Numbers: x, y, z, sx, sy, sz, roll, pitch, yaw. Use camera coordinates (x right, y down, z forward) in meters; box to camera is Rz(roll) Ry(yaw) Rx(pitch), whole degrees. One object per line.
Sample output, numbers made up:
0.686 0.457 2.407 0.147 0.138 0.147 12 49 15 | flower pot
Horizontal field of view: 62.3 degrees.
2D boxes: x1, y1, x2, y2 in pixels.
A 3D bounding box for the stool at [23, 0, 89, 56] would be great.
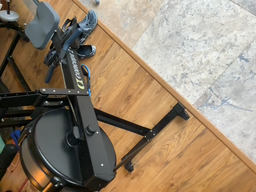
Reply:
-0.590 -0.560 1.760 0.270 0.350 0.280 48 112 23 | stool
